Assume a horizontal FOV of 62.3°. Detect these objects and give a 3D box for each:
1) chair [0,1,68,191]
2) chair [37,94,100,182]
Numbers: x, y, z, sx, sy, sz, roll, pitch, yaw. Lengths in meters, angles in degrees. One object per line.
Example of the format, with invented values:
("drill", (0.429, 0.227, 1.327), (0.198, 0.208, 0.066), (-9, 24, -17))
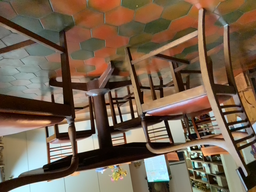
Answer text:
("chair", (-0.620, 0.110, 0.820), (0.460, 0.870, 0.520), (-14, 168, 17))
("chair", (-0.700, 0.470, 2.420), (0.420, 0.870, 0.490), (1, 164, -43))
